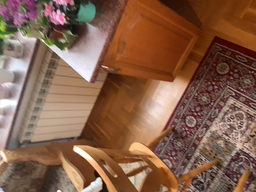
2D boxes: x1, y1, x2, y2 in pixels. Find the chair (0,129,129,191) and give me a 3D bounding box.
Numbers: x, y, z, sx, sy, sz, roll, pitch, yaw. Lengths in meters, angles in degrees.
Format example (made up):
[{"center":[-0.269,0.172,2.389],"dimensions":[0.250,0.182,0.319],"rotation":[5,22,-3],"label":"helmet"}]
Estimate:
[{"center":[-0.630,0.830,1.820],"dimensions":[0.670,0.820,0.750],"rotation":[39,112,34],"label":"chair"}]
